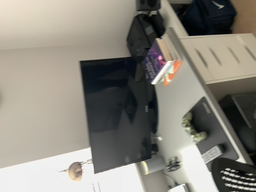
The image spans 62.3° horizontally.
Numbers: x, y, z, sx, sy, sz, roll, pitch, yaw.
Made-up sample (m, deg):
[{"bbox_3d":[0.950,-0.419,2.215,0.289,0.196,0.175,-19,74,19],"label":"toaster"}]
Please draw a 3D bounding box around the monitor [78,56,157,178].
[{"bbox_3d":[-0.050,0.130,1.440,0.070,0.470,0.750,-164,67,-66],"label":"monitor"}]
